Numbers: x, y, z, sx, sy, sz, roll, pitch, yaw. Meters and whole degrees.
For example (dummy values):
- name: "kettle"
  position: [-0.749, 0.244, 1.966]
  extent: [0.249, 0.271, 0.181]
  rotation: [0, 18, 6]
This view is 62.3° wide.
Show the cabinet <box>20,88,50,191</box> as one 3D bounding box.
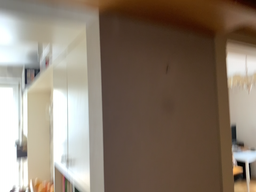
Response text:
- name: "cabinet"
  position: [-1.350, 0.960, 3.050]
  extent: [0.320, 2.080, 0.670]
  rotation: [0, -4, -30]
